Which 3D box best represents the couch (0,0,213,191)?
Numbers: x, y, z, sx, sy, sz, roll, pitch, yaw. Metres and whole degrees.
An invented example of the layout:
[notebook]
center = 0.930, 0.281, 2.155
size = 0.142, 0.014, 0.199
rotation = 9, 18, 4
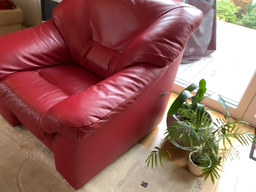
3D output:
[couch]
center = -0.250, -0.200, 1.350
size = 0.970, 0.870, 0.990
rotation = 30, 39, 27
